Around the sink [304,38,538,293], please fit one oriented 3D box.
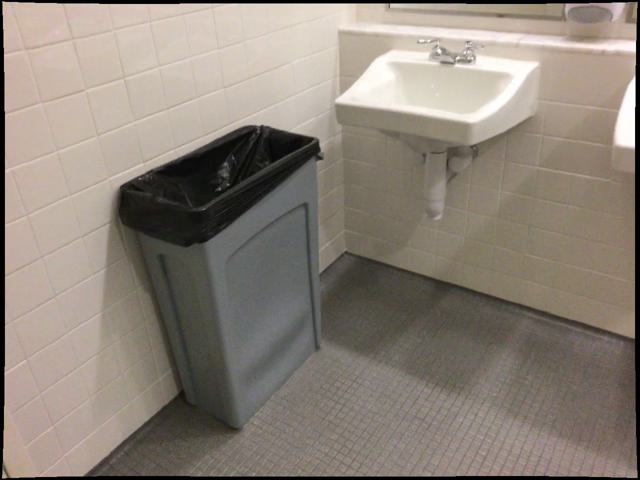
[{"bbox_3d":[0.319,-0.271,1.840,0.539,0.611,0.450,15,35,30],"label":"sink"}]
